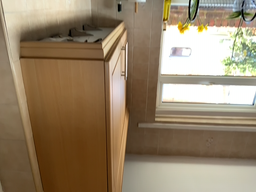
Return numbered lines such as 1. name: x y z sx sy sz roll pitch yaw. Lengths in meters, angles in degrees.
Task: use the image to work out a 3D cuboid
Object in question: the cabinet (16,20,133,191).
1. cabinet: -0.170 0.010 1.430 0.370 0.900 1.240 2 -156 1
